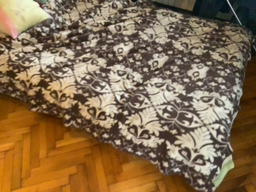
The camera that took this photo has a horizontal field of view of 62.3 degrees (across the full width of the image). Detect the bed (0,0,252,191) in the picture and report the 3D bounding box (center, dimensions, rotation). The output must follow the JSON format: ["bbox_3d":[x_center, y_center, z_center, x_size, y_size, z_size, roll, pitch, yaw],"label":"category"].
[{"bbox_3d":[-0.210,-0.320,1.810,2.060,0.470,1.280,22,51,17],"label":"bed"}]
